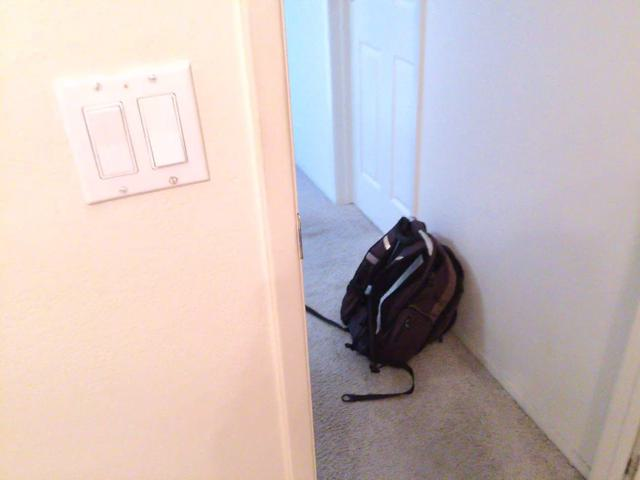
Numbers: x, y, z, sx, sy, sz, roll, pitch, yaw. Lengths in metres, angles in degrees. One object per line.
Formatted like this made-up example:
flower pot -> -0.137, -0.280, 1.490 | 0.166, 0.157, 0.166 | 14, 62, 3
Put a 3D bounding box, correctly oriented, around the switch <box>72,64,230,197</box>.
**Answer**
switch -> -0.150, -0.100, 0.530 | 0.120, 0.100, 0.020 | -13, 33, -15
